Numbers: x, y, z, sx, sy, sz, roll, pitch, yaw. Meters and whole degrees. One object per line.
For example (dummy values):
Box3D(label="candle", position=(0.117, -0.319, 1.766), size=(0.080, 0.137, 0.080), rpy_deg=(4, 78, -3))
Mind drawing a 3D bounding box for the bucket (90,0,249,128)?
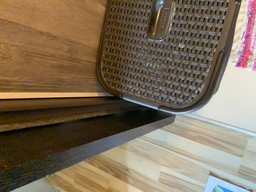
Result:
Box3D(label="bucket", position=(0.200, -0.170, 0.770), size=(0.310, 0.550, 0.410), rpy_deg=(19, 99, 26))
